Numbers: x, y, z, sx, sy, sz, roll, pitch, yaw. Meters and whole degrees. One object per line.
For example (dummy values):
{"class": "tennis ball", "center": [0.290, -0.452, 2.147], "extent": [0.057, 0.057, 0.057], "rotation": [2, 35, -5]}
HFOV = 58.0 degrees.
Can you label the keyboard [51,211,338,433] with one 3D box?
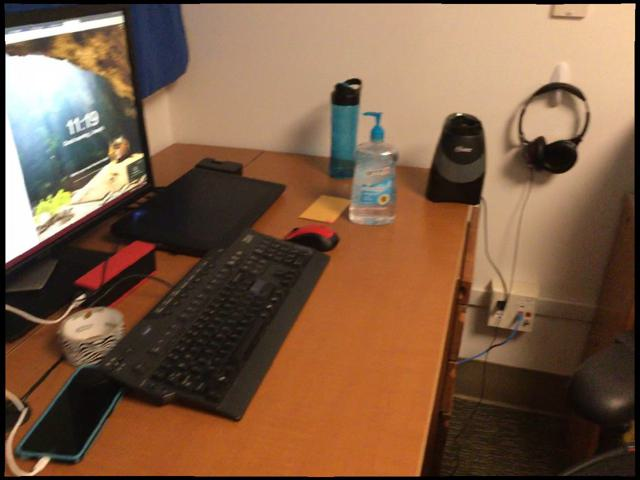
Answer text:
{"class": "keyboard", "center": [-0.160, 0.090, 0.960], "extent": [0.260, 0.060, 0.510], "rotation": [8, 27, 14]}
